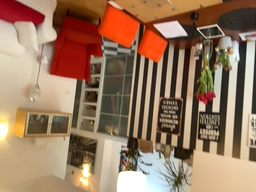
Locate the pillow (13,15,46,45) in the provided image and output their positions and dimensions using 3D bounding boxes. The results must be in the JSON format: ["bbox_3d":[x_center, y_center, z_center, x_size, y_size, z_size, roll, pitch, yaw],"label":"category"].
[{"bbox_3d":[-1.400,-0.930,3.010,0.370,0.290,0.240,3,174,37],"label":"pillow"}]

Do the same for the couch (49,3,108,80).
[{"bbox_3d":[-0.920,-0.890,3.820,0.680,1.010,0.950,8,175,-29],"label":"couch"}]
